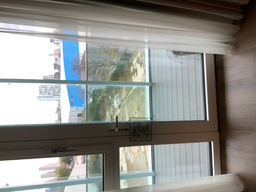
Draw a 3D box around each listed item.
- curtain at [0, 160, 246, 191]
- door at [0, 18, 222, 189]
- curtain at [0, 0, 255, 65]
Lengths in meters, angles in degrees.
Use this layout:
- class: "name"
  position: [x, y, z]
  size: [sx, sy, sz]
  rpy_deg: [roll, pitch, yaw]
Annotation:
- class: "curtain"
  position: [-0.220, 0.820, 1.670]
  size: [0.420, 2.480, 0.350]
  rpy_deg: [174, 97, -72]
- class: "door"
  position: [-0.310, 0.060, 1.870]
  size: [0.090, 2.660, 1.300]
  rpy_deg: [169, 102, -72]
- class: "curtain"
  position: [-0.200, -0.690, 1.600]
  size: [0.520, 2.530, 0.650]
  rpy_deg: [172, 99, -72]
